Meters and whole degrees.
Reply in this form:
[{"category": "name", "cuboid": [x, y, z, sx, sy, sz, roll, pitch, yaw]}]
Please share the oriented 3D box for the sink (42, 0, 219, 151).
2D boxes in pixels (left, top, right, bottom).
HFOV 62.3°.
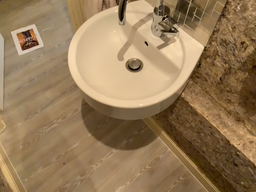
[{"category": "sink", "cuboid": [0.000, -0.110, 0.730, 0.380, 0.150, 0.410, -34, 67, -18]}]
